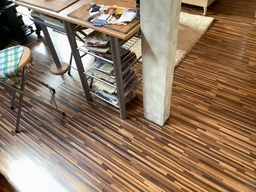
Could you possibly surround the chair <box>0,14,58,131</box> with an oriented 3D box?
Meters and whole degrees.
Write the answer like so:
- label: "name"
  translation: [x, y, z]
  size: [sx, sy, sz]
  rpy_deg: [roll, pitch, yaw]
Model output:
- label: "chair"
  translation: [-0.860, -0.140, 1.590]
  size: [0.400, 0.750, 0.330]
  rpy_deg: [-17, 47, -11]
